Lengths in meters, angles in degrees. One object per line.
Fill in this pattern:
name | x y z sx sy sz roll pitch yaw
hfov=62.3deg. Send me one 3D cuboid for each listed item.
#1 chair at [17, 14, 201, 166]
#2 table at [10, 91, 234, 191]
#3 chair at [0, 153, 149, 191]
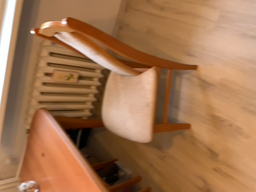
chair | -0.040 -0.030 1.260 0.460 0.980 0.540 8 95 45
table | -0.200 0.660 1.550 1.320 0.760 0.890 35 113 40
chair | -0.380 0.840 1.570 0.350 0.980 0.540 37 115 40
